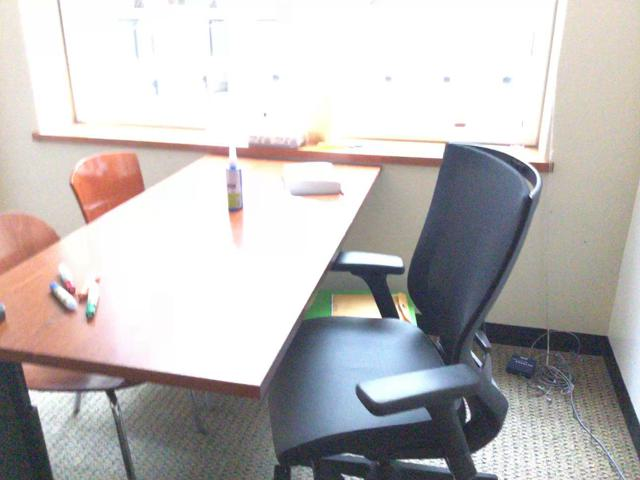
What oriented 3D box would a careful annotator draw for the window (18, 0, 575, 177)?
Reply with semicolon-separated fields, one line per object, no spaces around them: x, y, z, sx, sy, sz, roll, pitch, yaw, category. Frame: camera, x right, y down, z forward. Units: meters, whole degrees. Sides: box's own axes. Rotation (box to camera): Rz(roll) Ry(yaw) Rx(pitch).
-0.150;-0.940;2.420;2.190;1.090;0.520;6;21;14;window
